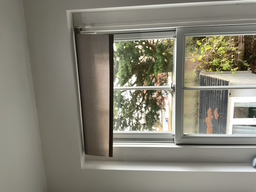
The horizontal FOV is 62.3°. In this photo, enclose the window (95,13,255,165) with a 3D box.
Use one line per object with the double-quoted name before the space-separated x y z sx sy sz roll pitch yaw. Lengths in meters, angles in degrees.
"window" 0.440 0.000 1.620 0.020 1.330 1.140 -66 -26 -77
